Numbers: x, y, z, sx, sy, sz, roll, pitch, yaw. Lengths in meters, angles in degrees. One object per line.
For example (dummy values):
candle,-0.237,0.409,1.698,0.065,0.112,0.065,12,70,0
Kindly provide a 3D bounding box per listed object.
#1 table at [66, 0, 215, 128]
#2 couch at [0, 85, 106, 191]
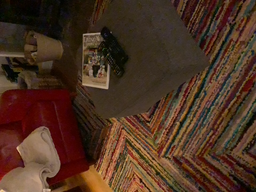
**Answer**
table,0.020,-0.190,1.210,0.640,0.390,0.470,-39,67,41
couch,-0.880,0.440,1.890,0.880,0.840,0.720,-33,71,43
